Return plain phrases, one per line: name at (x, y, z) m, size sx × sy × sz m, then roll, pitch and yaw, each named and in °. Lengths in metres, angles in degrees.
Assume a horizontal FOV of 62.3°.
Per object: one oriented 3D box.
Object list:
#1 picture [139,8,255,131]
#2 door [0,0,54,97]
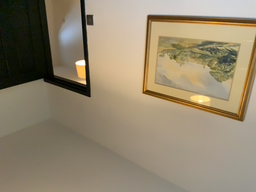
picture at (0.400, -0.200, 1.340) m, size 0.740 × 0.650 × 0.070 m, roll 18°, pitch -152°, yaw 35°
door at (-1.170, -1.030, 2.020) m, size 0.090 × 2.020 × 0.790 m, roll 13°, pitch -155°, yaw 30°
